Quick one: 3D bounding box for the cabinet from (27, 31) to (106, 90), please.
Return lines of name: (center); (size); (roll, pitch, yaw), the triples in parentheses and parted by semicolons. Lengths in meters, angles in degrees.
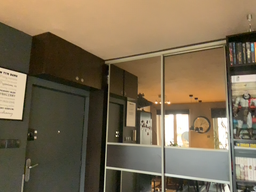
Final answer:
cabinet: (-0.720, -0.390, 2.760); (0.290, 0.450, 1.050); (-4, -10, 30)
